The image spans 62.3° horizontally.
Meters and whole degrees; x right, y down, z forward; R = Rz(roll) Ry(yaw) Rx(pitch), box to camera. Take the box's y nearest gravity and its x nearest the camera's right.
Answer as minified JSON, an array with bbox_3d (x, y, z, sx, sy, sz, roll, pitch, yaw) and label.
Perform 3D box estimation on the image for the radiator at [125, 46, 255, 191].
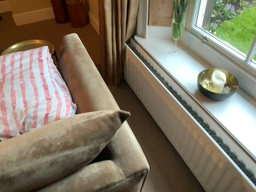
[{"bbox_3d":[0.320,0.190,1.380,0.090,0.360,1.450,-18,47,-17],"label":"radiator"}]
